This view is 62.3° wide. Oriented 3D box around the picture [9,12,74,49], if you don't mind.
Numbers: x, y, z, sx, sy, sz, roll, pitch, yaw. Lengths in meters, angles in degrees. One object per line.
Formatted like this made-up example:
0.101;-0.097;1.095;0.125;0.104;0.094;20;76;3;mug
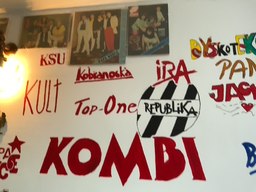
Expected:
-0.550;-0.420;1.360;0.380;0.250;0.030;1;-16;4;picture

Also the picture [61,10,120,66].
-0.220;-0.360;1.300;0.330;0.360;0.040;1;-16;4;picture

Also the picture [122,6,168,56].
0.100;-0.390;1.260;0.260;0.310;0.030;2;-16;1;picture
